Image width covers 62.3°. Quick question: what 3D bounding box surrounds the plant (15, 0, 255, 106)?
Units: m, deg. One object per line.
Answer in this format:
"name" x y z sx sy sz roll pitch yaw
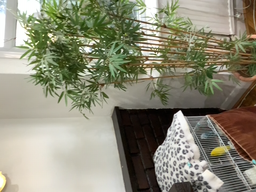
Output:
"plant" 0.290 -0.300 1.300 0.530 1.650 0.650 153 116 -71
